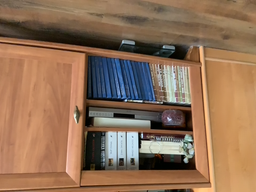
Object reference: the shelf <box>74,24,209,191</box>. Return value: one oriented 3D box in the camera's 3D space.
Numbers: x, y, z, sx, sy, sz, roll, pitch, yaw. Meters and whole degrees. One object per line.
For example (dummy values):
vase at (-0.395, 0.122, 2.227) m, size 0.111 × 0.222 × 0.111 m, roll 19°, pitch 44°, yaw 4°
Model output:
shelf at (0.030, 0.100, 1.260) m, size 0.610 × 0.760 × 0.510 m, roll 4°, pitch 167°, yaw -16°
